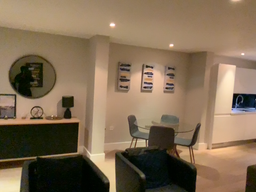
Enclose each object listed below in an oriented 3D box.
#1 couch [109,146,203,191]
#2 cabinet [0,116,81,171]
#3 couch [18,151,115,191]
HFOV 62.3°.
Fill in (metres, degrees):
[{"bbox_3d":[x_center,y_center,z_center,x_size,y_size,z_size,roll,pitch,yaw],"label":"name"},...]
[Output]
[{"bbox_3d":[0.280,1.090,2.480,0.760,0.720,0.740,1,6,-26],"label":"couch"},{"bbox_3d":[-1.810,0.800,3.720,1.820,0.790,0.440,2,5,-27],"label":"cabinet"},{"bbox_3d":[-0.620,1.040,2.000,0.740,0.760,0.690,1,6,-26],"label":"couch"}]
